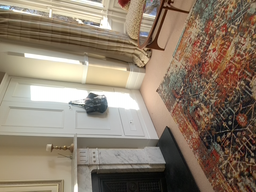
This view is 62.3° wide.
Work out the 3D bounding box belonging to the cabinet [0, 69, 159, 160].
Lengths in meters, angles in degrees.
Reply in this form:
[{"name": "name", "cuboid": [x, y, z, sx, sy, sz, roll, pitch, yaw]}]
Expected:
[{"name": "cabinet", "cuboid": [-0.820, 0.300, 3.340, 1.250, 2.260, 0.580, -108, 30, -49]}]
